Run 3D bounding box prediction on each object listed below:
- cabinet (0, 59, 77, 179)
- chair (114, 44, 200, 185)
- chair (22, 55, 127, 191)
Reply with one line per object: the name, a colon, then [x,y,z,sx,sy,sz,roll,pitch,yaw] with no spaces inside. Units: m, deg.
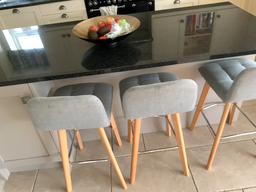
cabinet: [-0.780,0.210,1.560,0.580,0.850,0.290,-7,38,-1]
chair: [0.170,0.160,1.450,0.400,0.870,0.410,-7,38,-1]
chair: [-0.270,0.240,1.420,0.410,0.870,0.410,-7,38,-1]
